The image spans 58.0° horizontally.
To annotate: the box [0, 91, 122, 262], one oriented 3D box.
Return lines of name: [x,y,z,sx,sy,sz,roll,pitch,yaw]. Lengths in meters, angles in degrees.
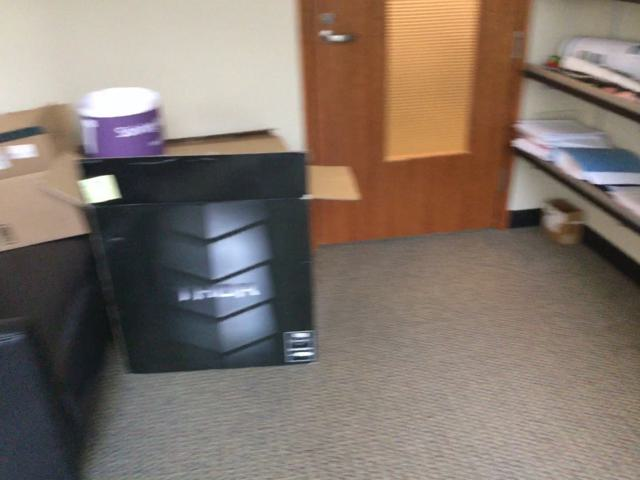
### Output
box: [-1.100,-0.250,2.050,0.640,0.440,0.590,-3,25,-10]

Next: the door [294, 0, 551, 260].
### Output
door: [0.410,-1.050,2.270,0.970,2.360,0.270,-3,27,-10]

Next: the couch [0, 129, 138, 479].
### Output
couch: [-1.080,0.150,1.660,0.890,0.640,1.180,-3,25,-10]

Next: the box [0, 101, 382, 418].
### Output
box: [-0.410,-0.020,2.110,1.000,0.780,0.900,-3,25,-10]
